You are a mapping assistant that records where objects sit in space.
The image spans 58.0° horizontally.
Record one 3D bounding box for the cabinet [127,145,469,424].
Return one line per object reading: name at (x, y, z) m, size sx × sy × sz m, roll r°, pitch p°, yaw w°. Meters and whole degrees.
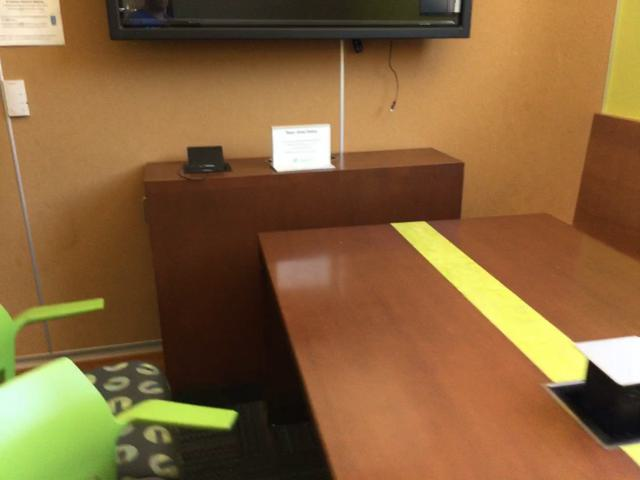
cabinet at (-0.070, 0.140, 2.250) m, size 1.180 × 0.920 × 0.330 m, roll -5°, pitch 18°, yaw -12°
